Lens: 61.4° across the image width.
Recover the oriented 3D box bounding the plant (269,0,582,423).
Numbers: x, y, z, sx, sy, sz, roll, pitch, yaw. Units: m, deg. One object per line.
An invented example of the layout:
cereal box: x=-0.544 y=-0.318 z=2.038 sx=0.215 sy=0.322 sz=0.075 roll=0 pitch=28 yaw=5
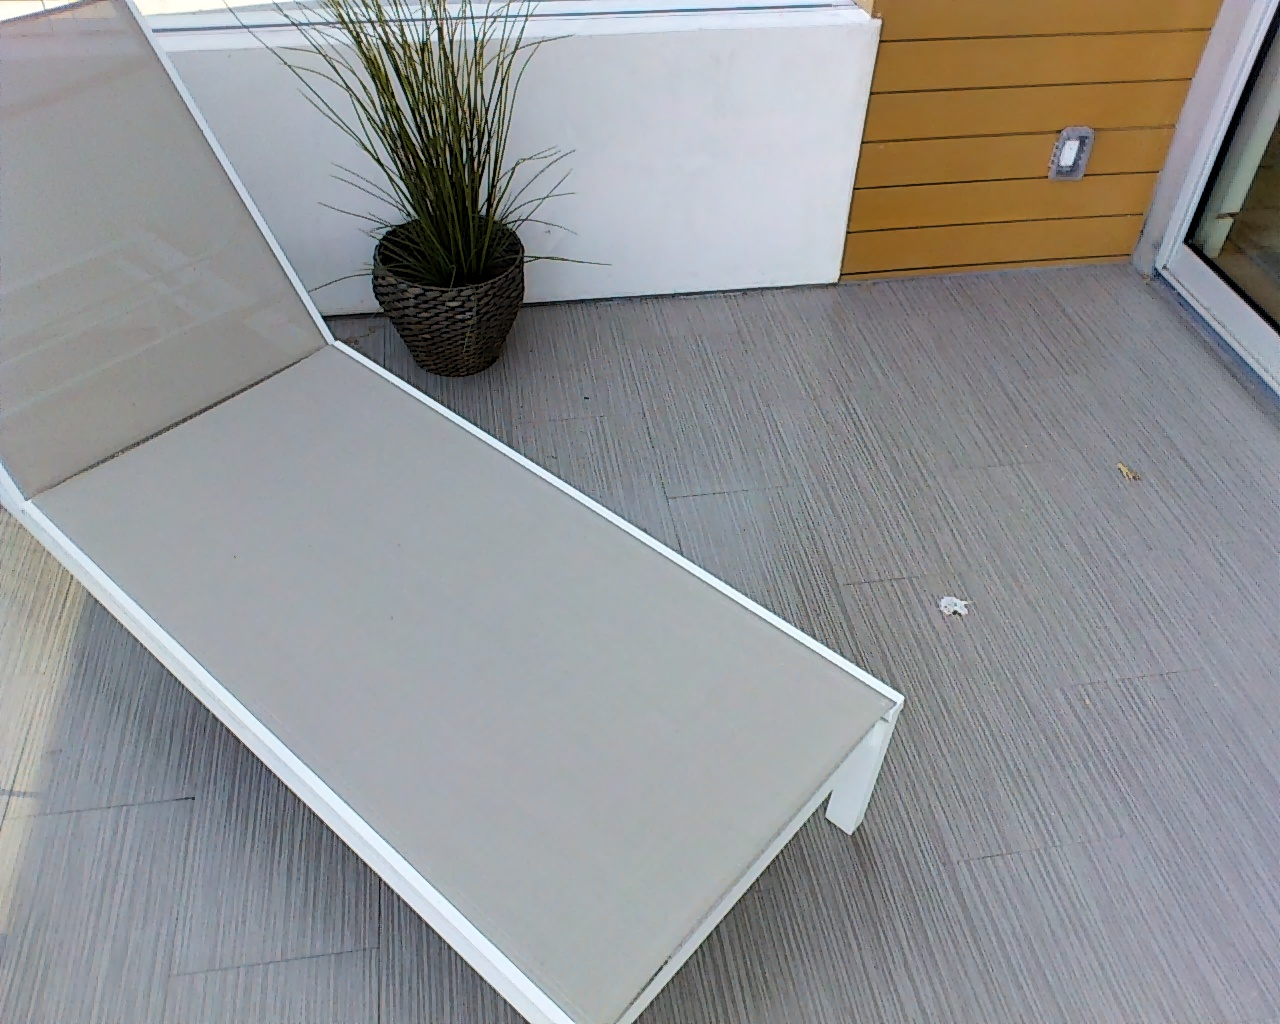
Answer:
plant: x=-0.430 y=-0.710 z=2.410 sx=0.540 sy=0.910 sz=0.420 roll=-5 pitch=43 yaw=-7
